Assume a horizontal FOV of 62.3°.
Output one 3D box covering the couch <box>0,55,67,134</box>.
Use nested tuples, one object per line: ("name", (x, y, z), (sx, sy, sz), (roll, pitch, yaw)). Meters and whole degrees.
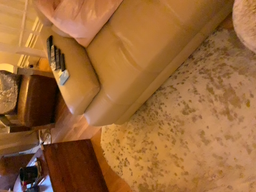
("couch", (-1.310, -0.060, 2.590), (0.810, 0.670, 0.730), (20, 101, 42))
